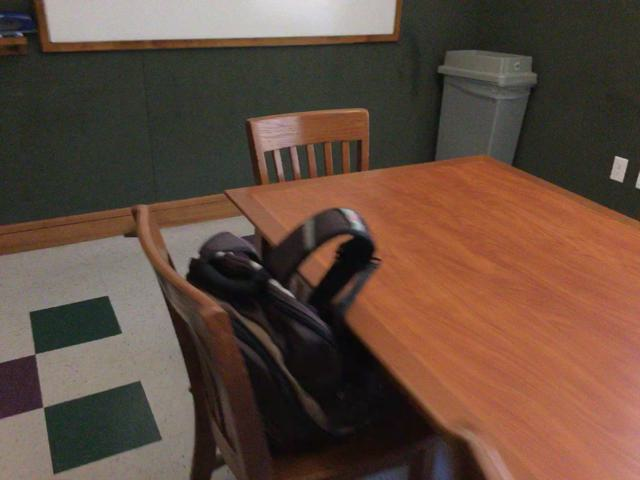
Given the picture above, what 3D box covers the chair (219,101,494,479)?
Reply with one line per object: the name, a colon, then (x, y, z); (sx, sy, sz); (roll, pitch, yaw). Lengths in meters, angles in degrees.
chair: (0.050, 0.110, 1.760); (0.470, 0.890, 0.660); (-12, 29, -26)
